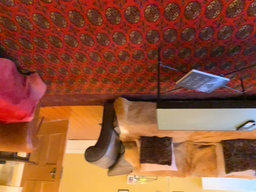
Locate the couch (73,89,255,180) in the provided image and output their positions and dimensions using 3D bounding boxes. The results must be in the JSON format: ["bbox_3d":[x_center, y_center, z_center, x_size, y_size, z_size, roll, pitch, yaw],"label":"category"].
[{"bbox_3d":[0.760,0.550,2.700,2.510,0.900,1.090,-1,158,6],"label":"couch"}]

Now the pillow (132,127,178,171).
[{"bbox_3d":[0.330,0.670,2.680,0.450,0.410,0.150,-19,159,-3],"label":"pillow"}]
